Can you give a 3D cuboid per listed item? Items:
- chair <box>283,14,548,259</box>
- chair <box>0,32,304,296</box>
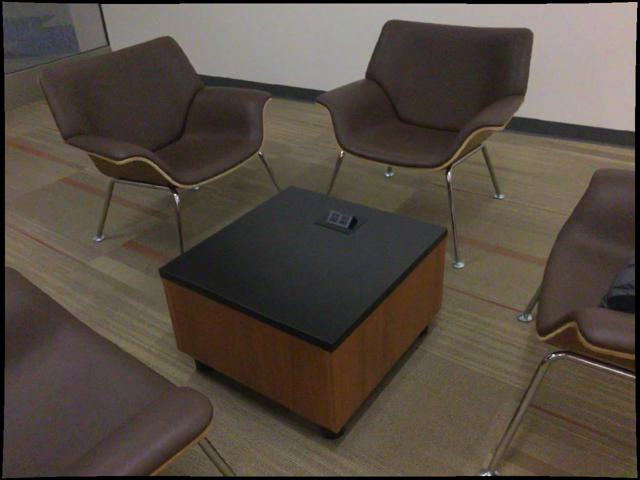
[{"bbox_3d":[0.449,-0.531,2.610,0.848,0.731,0.830,14,37,27],"label":"chair"},{"bbox_3d":[-0.688,-0.411,2.580,0.819,0.751,0.860,20,40,33],"label":"chair"}]
